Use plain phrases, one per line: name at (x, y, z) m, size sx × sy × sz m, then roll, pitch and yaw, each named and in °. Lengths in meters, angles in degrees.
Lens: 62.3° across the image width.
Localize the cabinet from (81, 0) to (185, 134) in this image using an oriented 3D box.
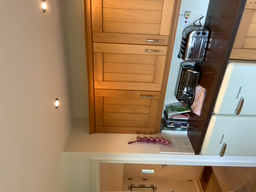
cabinet at (0.000, -0.310, 2.280) m, size 0.310 × 0.880 × 1.580 m, roll -93°, pitch 7°, yaw -59°
